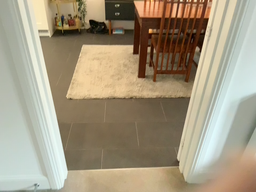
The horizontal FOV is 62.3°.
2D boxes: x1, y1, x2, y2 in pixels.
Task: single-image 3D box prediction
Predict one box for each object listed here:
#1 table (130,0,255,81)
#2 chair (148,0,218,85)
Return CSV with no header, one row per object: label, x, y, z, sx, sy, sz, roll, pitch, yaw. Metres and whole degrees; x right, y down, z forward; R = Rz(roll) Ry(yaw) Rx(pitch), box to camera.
table,0.760,-0.790,2.800,1.390,0.840,0.890,0,34,-2
chair,0.580,-0.700,2.540,0.530,0.970,0.570,-1,34,-4
